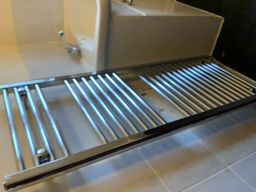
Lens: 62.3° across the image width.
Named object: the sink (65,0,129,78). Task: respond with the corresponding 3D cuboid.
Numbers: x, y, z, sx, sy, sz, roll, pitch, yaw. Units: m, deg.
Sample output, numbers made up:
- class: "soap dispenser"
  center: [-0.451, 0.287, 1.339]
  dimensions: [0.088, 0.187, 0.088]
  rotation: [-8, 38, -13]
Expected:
- class: "sink"
  center: [-0.220, -0.430, 1.270]
  dimensions: [0.520, 0.160, 0.430]
  rotation: [47, 138, 43]
